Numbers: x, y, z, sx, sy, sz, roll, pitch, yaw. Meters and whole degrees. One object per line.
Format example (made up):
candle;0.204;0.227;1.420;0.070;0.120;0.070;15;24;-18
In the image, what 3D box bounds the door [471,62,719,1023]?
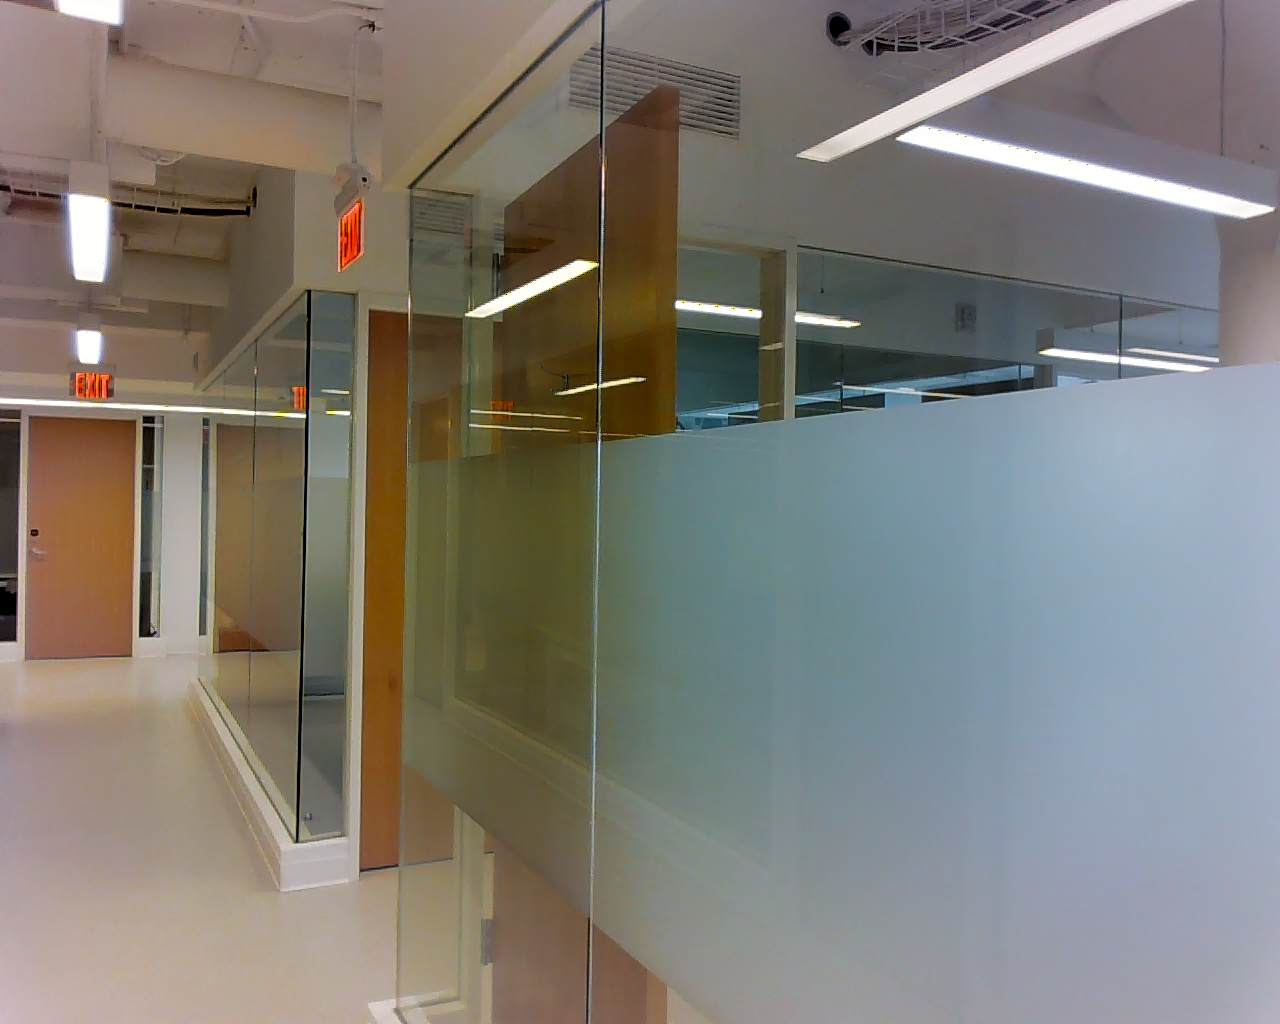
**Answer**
door;-0.150;0.320;2.370;0.100;2.230;1.030;1;0;-27
